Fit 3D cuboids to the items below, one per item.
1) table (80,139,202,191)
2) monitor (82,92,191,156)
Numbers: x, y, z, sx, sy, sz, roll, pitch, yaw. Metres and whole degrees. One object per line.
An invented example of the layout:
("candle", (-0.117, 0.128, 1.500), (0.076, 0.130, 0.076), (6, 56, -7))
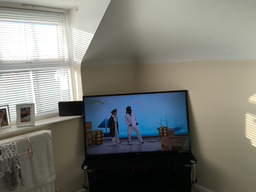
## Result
("table", (0.140, 0.850, 2.390), (1.210, 0.500, 0.510), (-3, 9, -1))
("monitor", (0.090, 0.300, 2.300), (1.130, 0.620, 0.060), (4, 1, 0))
